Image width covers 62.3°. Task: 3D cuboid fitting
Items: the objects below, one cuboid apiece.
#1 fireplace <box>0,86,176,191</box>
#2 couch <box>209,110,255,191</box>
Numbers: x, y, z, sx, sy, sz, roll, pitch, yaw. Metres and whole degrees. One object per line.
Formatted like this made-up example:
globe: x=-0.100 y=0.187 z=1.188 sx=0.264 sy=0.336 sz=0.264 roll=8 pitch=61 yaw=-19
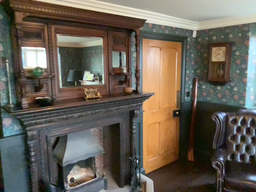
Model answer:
fireplace: x=-0.440 y=0.630 z=2.540 sx=1.780 sy=1.300 sz=1.110 roll=-8 pitch=11 yaw=-40
couch: x=1.420 y=0.760 z=2.570 sx=0.740 sy=0.980 sz=0.830 roll=3 pitch=10 yaw=25
